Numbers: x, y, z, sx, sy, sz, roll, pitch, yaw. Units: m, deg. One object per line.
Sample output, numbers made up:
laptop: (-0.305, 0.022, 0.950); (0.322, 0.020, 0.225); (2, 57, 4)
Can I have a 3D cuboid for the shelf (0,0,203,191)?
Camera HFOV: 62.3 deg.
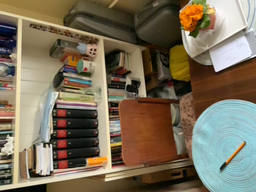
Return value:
shelf: (-0.420, 0.040, 1.340); (0.400, 2.160, 0.960); (-20, 70, 52)
